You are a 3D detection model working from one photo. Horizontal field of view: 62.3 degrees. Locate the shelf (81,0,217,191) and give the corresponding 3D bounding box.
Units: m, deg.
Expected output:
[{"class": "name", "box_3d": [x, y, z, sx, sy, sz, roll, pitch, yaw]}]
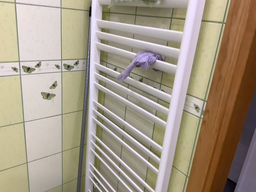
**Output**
[{"class": "shelf", "box_3d": [0.000, -0.090, 0.950, 0.130, 2.040, 0.650, -8, 24, -34]}]
